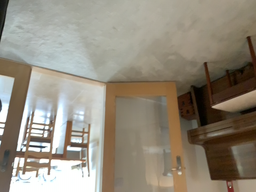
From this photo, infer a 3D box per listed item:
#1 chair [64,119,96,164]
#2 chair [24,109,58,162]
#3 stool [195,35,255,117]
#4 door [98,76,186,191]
[{"bbox_3d":[-0.960,0.930,4.290,0.520,0.830,0.400,5,157,-12],"label":"chair"},{"bbox_3d":[-1.520,0.720,3.790,0.400,0.830,0.520,6,157,-14],"label":"chair"},{"bbox_3d":[1.020,-0.150,2.010,0.400,0.510,0.570,12,155,-26],"label":"stool"},{"bbox_3d":[0.140,0.720,2.240,0.860,2.010,0.160,1,158,-1],"label":"door"}]
